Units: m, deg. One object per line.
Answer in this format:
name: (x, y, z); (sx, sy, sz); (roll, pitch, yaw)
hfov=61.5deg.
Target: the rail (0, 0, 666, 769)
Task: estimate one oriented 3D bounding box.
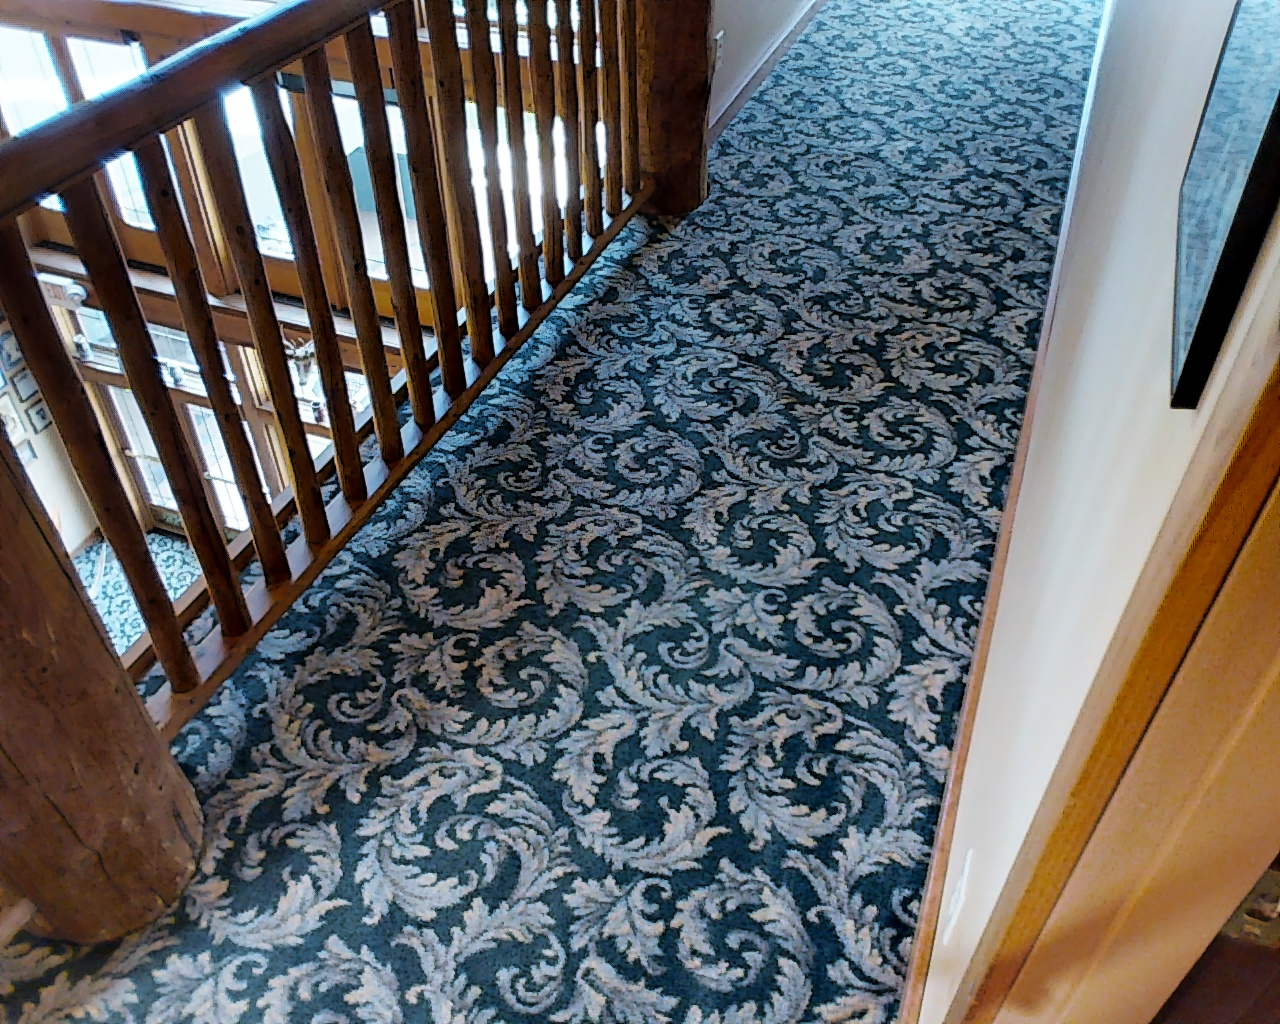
rail: (-0.500, -0.730, 2.340); (0.340, 1.090, 2.330); (15, 44, 15)
